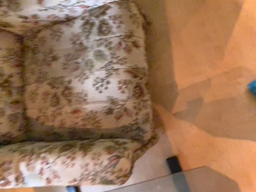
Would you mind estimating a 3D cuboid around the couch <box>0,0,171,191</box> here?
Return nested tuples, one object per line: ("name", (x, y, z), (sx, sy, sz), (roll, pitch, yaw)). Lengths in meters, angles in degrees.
("couch", (-0.430, -0.060, 0.790), (0.930, 0.940, 0.750), (-7, 86, 21))
